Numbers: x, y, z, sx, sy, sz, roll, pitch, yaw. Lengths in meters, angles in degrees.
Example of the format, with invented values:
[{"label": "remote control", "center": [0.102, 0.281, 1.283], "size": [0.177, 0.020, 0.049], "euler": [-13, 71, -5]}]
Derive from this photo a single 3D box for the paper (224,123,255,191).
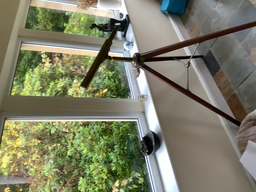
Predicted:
[{"label": "paper", "center": [0.980, 0.500, 1.550], "size": [0.450, 0.120, 0.390], "euler": [-108, 29, -46]}]
